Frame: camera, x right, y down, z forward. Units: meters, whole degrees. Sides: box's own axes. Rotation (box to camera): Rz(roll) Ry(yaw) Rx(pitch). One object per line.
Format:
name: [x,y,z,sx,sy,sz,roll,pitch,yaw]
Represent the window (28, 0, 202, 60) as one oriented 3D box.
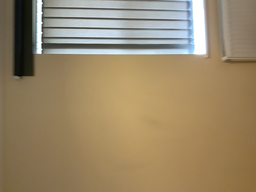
window: [-0.080,-0.830,1.650,0.080,1.300,1.080,152,117,-84]
